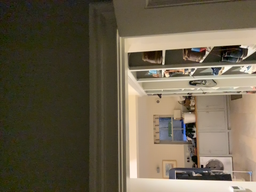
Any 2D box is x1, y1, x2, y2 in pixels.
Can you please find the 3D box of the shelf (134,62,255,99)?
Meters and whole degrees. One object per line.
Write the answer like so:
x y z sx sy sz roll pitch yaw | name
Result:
1.270 -0.220 3.730 1.310 2.180 0.380 27 -119 -80 | shelf

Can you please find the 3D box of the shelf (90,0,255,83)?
0.960 -0.400 1.710 1.330 2.180 0.330 27 -119 -80 | shelf
